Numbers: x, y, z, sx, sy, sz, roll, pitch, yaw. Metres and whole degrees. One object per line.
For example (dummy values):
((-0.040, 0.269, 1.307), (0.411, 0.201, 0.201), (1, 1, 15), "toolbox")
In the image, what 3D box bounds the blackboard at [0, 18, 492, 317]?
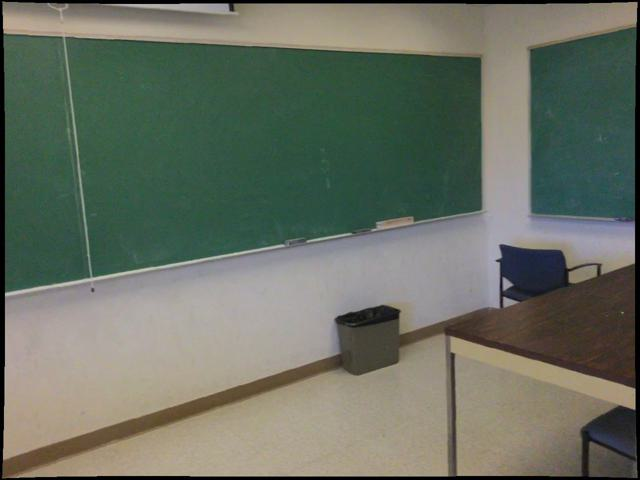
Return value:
((-0.070, -0.582, 3.590), (3.235, 1.283, 0.350), (-13, 13, -37), "blackboard")

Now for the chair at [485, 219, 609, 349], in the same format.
((1.536, 0.261, 3.900), (0.609, 0.692, 0.529), (-13, 13, -37), "chair")
